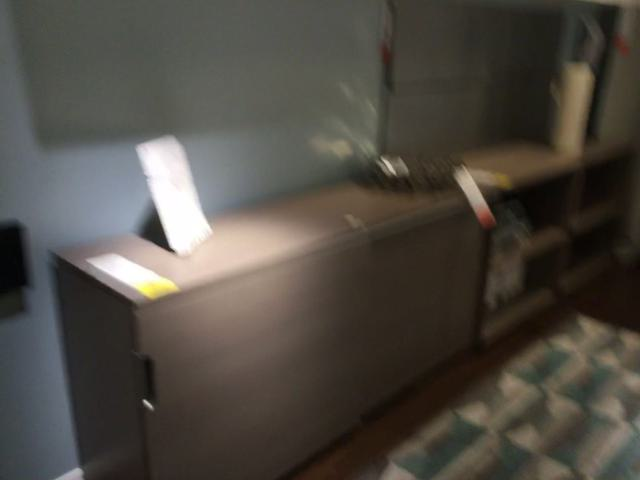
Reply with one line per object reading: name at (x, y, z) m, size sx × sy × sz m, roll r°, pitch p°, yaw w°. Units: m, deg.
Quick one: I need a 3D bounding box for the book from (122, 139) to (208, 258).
book at (-0.420, -0.120, 1.600) m, size 0.110 × 0.290 × 0.210 m, roll -12°, pitch 7°, yaw 3°
